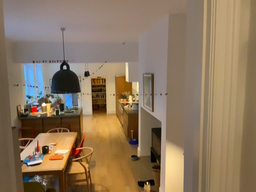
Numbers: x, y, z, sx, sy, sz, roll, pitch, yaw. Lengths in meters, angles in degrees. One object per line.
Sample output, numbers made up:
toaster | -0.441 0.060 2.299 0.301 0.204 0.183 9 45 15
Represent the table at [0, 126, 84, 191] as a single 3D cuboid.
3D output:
table | -1.500 1.250 4.150 1.020 0.760 2.000 -1 8 -6
